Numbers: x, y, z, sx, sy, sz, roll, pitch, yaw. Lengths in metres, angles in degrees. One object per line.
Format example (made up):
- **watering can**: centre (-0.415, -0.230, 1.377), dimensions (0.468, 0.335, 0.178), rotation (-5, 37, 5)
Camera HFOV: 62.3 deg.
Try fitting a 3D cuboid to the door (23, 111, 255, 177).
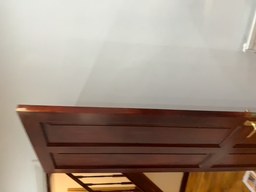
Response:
- **door**: centre (0.440, 0.350, 1.360), dimensions (0.770, 1.910, 0.040), rotation (102, 167, -51)
